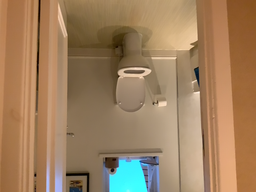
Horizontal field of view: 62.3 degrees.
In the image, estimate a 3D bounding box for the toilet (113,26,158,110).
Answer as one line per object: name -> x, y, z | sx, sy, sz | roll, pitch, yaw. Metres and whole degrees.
toilet -> 0.050, -0.260, 2.400 | 0.390, 0.820, 0.660 | 0, 176, -7
